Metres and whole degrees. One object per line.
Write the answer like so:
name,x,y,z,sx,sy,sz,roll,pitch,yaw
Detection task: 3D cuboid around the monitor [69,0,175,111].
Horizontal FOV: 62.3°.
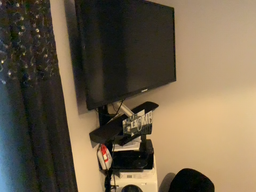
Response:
monitor,0.060,-0.300,1.320,0.050,0.560,0.950,4,14,36
